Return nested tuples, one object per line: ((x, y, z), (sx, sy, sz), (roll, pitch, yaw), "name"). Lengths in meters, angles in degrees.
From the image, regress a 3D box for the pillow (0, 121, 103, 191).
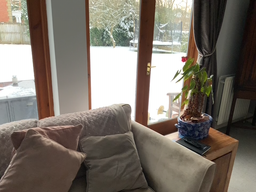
((-0.490, 0.420, 1.260), (0.480, 0.500, 0.130), (18, 26, -37), "pillow")
